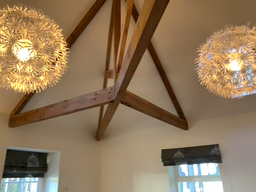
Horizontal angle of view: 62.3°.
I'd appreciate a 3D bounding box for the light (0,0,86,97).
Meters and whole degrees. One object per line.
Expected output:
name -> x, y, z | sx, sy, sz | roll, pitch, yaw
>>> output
light -> -0.780, -0.980, 1.810 | 0.700, 1.840, 0.640 | -2, -21, 1
